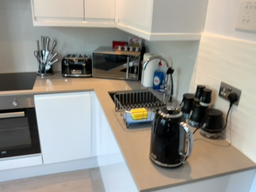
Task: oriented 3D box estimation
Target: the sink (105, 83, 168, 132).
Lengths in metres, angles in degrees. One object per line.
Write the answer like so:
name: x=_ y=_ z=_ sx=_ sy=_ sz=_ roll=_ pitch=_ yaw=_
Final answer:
sink: x=0.040 y=0.070 z=1.770 sx=0.370 sy=0.190 sz=0.490 roll=-4 pitch=23 yaw=-17
